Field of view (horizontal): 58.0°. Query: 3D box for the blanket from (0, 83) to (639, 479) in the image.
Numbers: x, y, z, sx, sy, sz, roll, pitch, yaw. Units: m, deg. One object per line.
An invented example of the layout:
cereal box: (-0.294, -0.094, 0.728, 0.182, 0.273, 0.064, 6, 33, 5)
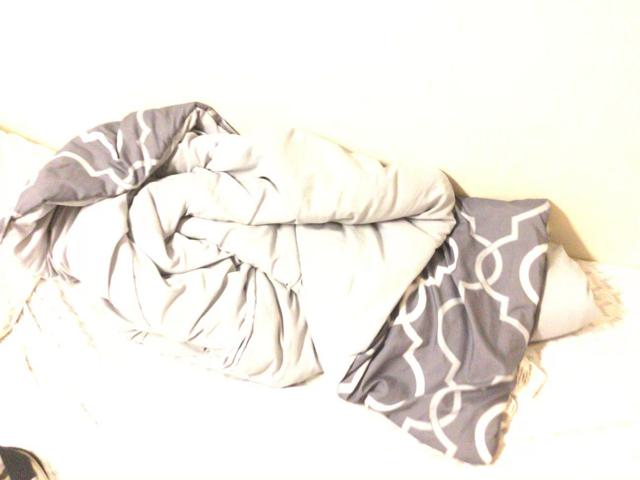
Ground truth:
blanket: (-0.080, 0.020, 1.040, 1.100, 0.290, 0.430, 11, 54, 20)
